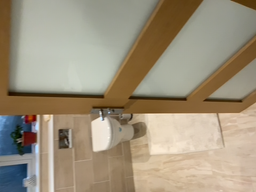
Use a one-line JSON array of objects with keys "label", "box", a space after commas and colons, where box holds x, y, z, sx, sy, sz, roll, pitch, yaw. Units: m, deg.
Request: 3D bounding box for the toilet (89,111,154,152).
[{"label": "toilet", "box": [-0.090, 0.400, 2.380, 0.490, 0.520, 0.350, -33, 61, 55]}]
